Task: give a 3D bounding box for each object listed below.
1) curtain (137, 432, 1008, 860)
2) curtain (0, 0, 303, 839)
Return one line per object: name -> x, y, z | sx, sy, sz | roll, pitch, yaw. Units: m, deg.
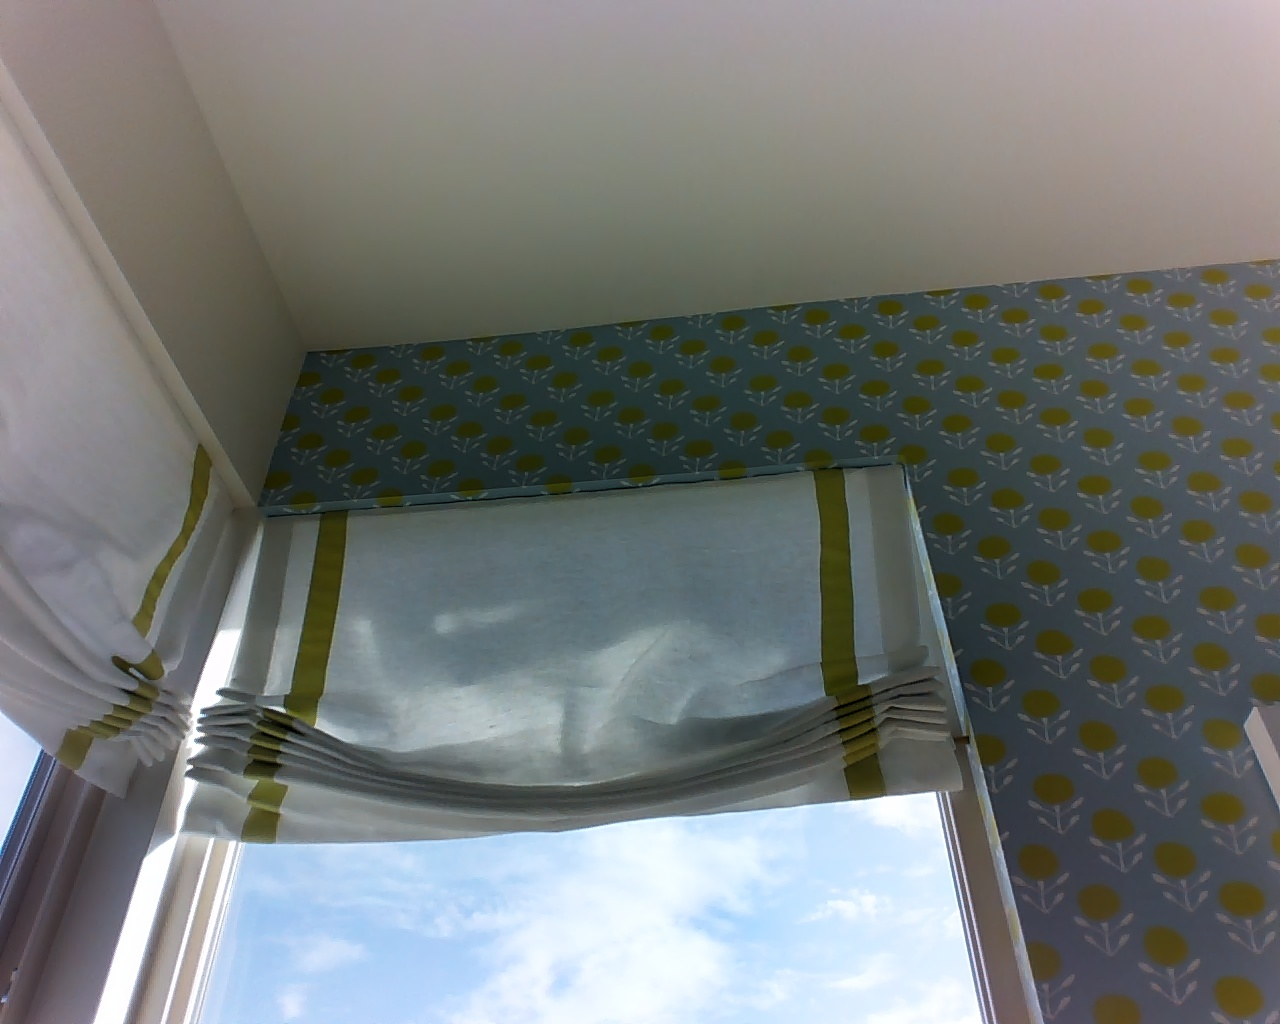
curtain -> -0.080, 0.140, 1.270 | 0.889, 0.490, 0.070 | -5, -42, 6
curtain -> -0.550, -0.110, 0.980 | 0.080, 0.460, 0.860 | -5, -42, 6
